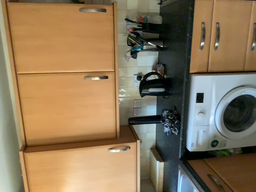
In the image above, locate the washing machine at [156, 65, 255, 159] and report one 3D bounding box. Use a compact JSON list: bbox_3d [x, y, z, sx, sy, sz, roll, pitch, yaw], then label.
[{"bbox_3d":[0.790,0.070,1.900,0.670,0.890,0.600,-126,34,-71],"label":"washing machine"}]
